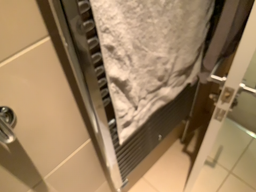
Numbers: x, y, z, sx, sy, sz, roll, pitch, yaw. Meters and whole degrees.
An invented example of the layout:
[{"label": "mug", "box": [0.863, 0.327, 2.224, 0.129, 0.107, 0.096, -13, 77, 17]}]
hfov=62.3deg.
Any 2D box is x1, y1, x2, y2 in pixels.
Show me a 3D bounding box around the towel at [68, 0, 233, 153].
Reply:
[{"label": "towel", "box": [0.120, -0.160, 0.640, 0.130, 0.540, 0.500, 35, 61, 29]}]
